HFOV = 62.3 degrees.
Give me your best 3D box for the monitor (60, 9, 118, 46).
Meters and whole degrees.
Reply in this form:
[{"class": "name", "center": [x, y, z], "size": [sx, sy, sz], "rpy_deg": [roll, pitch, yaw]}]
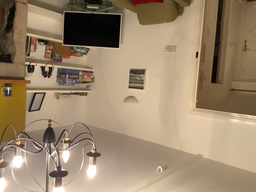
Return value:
[{"class": "monitor", "center": [-0.610, -1.060, 3.270], "size": [0.880, 0.510, 0.050], "rpy_deg": [4, -175, 6]}]
